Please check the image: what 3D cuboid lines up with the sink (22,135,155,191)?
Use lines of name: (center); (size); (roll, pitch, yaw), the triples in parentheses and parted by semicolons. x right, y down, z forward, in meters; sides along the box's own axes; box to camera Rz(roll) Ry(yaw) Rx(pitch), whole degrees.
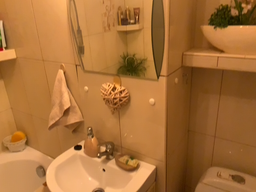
sink: (-0.170, 0.400, 0.990); (0.480, 0.150, 0.360); (12, 26, 31)
